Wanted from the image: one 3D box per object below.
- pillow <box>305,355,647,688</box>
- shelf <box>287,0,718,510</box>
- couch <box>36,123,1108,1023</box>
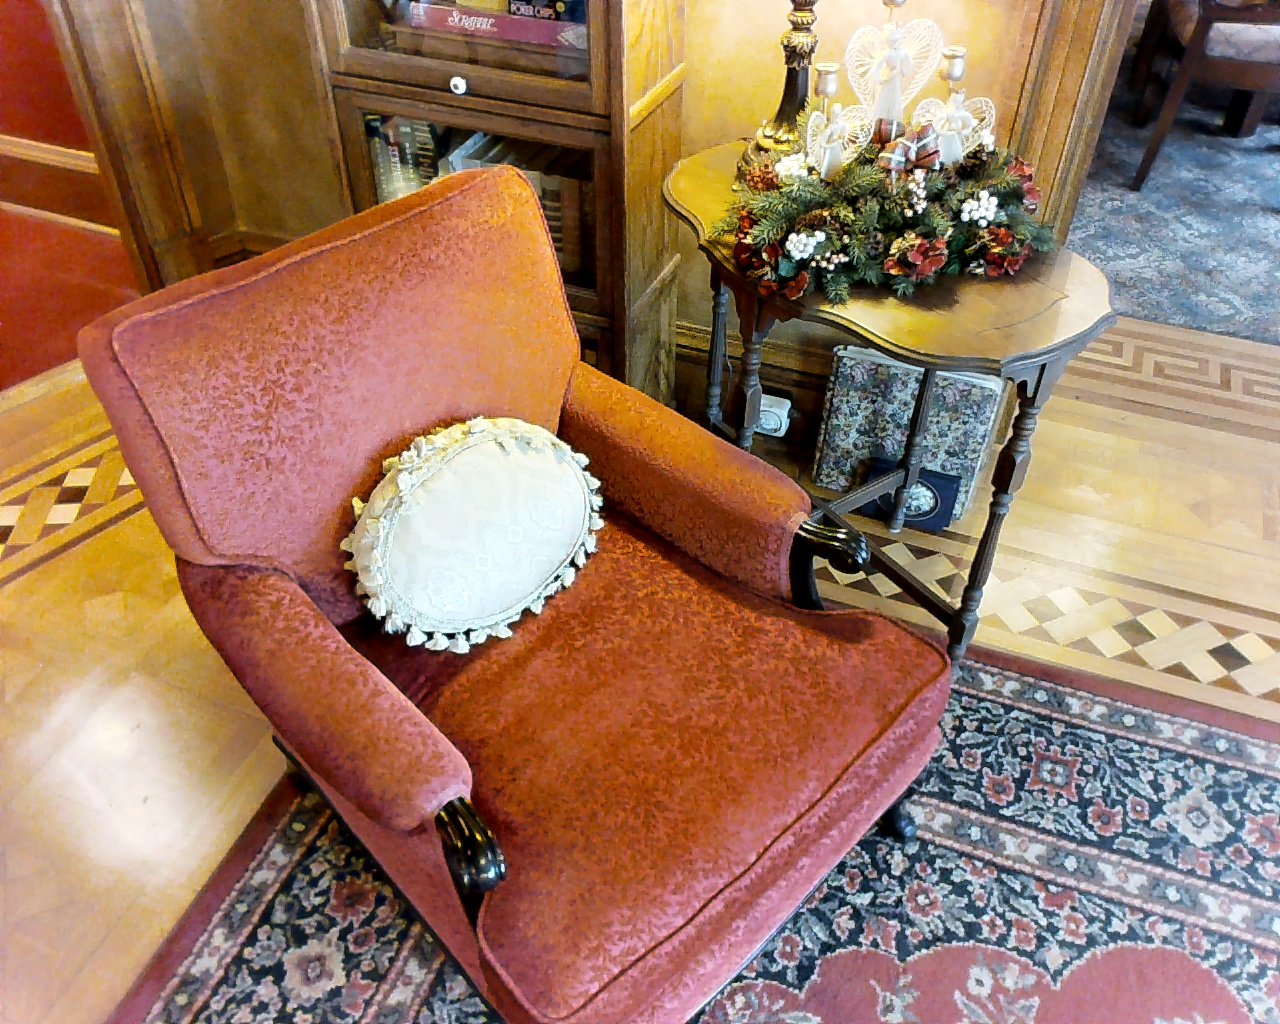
[{"bbox_3d":[-0.220,0.000,1.470,0.190,0.260,0.400,39,43,18],"label":"pillow"},{"bbox_3d":[-0.230,-0.770,1.950,0.650,1.560,0.340,15,45,16],"label":"shelf"},{"bbox_3d":[-0.100,0.110,1.490,0.790,0.810,0.930,-33,52,-31],"label":"couch"}]
